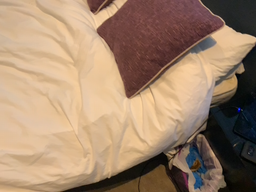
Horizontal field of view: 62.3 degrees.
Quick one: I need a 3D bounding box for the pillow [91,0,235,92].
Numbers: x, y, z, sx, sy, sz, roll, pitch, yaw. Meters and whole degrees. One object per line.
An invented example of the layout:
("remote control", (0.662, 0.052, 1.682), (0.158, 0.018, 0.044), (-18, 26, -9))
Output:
("pillow", (0.110, -0.330, 0.940), (0.410, 0.220, 0.470), (-21, 64, -10))
